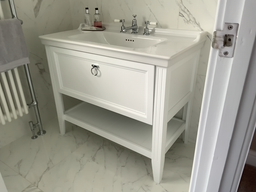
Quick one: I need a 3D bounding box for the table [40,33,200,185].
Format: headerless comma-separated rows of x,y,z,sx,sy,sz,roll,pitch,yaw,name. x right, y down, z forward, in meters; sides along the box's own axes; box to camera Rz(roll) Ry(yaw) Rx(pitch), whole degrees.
-0.070,0.000,1.580,0.950,0.760,0.510,16,31,31,table

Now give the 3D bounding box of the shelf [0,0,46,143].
-0.870,-0.190,1.430,0.150,0.980,0.430,16,31,31,shelf
